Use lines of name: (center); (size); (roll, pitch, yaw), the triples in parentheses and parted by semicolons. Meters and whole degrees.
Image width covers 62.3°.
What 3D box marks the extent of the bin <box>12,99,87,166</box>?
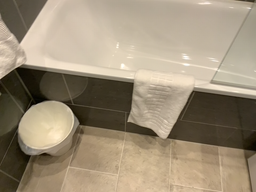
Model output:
bin: (-0.410, 0.210, 1.190); (0.270, 0.260, 0.250); (8, 56, 3)

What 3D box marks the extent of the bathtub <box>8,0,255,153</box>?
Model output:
bathtub: (0.350, -0.150, 1.310); (1.680, 0.590, 0.680); (8, 56, 3)

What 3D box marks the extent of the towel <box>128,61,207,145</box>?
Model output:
towel: (0.170, 0.070, 1.100); (0.300, 0.510, 0.140); (9, 56, 4)
